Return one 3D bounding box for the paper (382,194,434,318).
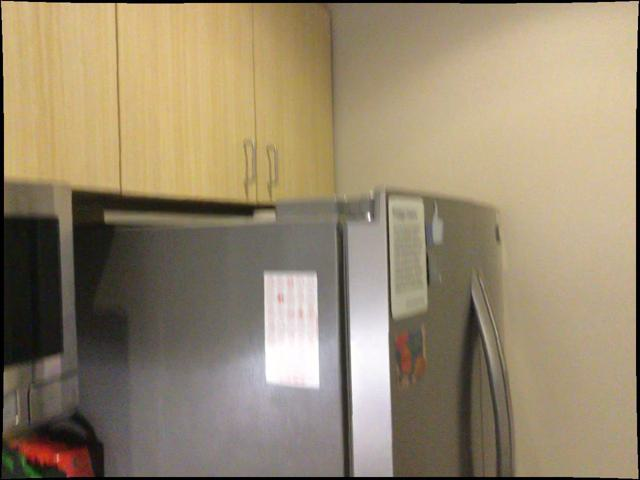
[{"bbox_3d":[0.140,0.020,0.900,0.020,0.180,0.130,-4,2,30],"label":"paper"}]

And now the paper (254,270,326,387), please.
[{"bbox_3d":[-0.050,0.140,0.930,0.110,0.180,0.020,-4,2,31],"label":"paper"}]
